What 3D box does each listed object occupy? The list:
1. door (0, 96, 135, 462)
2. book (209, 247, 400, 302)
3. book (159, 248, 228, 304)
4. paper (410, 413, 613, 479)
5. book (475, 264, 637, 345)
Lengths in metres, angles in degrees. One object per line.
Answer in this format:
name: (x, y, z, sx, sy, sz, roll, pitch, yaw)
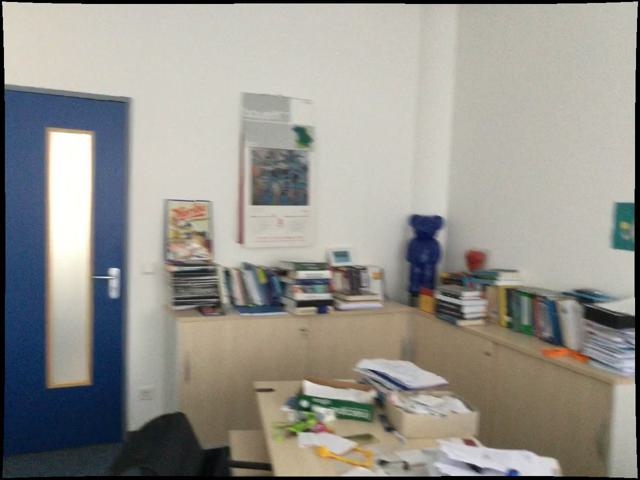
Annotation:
door: (-1.568, 0.230, 3.280, 0.969, 2.002, 0.170, -1, 9, -27)
book: (-0.080, 0.210, 3.830, 1.259, 0.260, 0.270, -1, 7, -26)
book: (-0.769, 0.210, 3.510, 0.350, 0.280, 0.280, -1, 7, -26)
paper: (0.519, 0.671, 1.620, 0.380, 0.180, 0.370, -1, 7, -26)
book: (1.229, 0.320, 3.130, 0.230, 0.240, 0.860, -1, 7, -26)
